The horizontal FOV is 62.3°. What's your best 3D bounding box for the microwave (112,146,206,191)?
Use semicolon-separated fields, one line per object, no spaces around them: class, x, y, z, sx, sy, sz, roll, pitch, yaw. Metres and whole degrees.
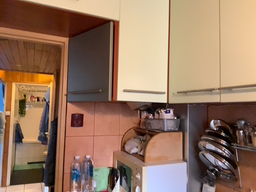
microwave;0.200;0.540;1.480;0.500;0.290;0.420;3;-4;-23
